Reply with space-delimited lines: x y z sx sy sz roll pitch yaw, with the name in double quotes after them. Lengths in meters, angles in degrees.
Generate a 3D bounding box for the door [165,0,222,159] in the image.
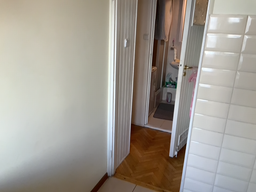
0.790 -0.300 2.540 0.110 2.040 0.760 17 24 37 "door"
